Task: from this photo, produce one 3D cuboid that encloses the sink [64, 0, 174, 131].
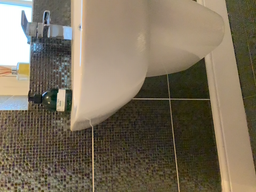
[{"bbox_3d":[-0.090,-0.250,0.620,0.450,0.170,0.660,145,124,-68],"label":"sink"}]
